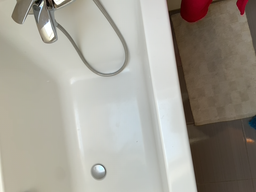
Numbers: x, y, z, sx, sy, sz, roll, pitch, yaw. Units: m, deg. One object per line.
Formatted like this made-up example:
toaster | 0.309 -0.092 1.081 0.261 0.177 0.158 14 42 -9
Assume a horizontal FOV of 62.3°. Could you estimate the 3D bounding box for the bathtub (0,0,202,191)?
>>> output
bathtub | -0.070 0.650 0.970 0.800 0.600 2.220 -9 86 10
